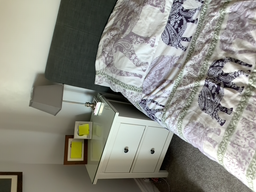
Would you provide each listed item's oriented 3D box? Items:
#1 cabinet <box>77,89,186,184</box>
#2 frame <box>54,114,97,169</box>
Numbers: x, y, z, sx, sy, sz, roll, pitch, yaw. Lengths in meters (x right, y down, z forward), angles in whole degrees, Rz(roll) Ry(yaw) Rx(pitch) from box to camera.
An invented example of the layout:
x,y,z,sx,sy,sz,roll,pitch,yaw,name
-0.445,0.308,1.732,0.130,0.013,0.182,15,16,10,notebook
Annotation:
x,y,z,sx,sy,sz,roll,pitch,yaw,name
0.010,0.320,1.700,0.420,0.620,0.550,34,109,58,cabinet
-0.410,0.350,1.640,0.340,0.170,0.180,-64,31,6,frame
